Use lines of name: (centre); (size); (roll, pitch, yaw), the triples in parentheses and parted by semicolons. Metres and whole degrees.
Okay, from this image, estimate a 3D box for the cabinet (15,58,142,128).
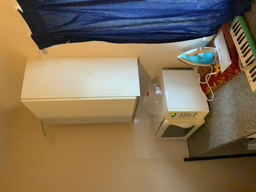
cabinet: (-0.310, 0.010, 1.580); (0.590, 0.740, 0.290); (101, 167, -66)
